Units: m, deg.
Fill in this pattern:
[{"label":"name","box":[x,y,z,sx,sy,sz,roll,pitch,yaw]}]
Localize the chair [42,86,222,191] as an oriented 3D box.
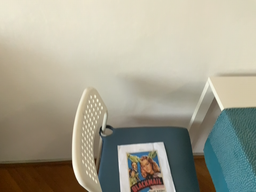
[{"label":"chair","box":[-0.010,0.380,0.980,0.490,0.760,0.430,1,48,-3]}]
